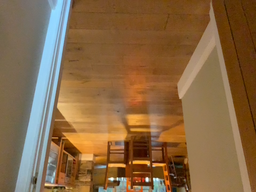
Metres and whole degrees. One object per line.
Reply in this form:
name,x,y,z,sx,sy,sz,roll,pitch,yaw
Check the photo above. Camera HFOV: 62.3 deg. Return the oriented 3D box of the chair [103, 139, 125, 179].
chair,-0.290,1.410,4.720,0.440,0.820,0.460,0,156,0
